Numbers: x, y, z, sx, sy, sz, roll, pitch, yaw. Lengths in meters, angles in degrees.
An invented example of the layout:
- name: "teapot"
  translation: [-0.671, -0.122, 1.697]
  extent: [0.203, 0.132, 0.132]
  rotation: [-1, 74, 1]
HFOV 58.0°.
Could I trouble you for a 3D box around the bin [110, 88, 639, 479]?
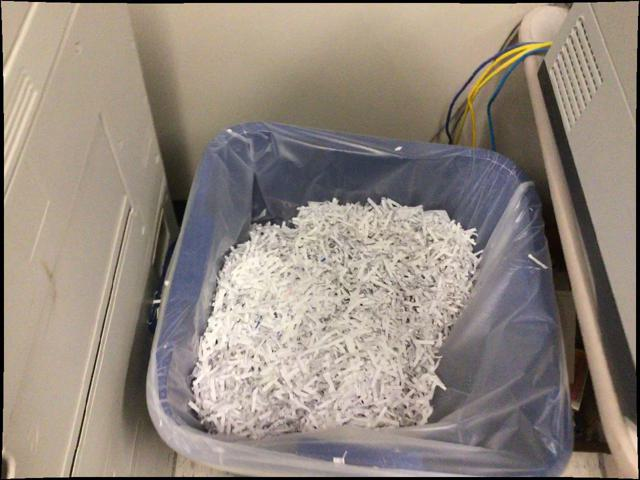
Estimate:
- name: "bin"
  translation: [0.060, 0.160, 1.060]
  extent: [0.619, 0.580, 0.571]
  rotation: [3, 61, -2]
